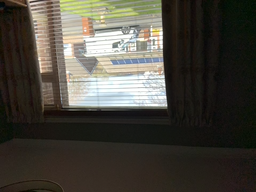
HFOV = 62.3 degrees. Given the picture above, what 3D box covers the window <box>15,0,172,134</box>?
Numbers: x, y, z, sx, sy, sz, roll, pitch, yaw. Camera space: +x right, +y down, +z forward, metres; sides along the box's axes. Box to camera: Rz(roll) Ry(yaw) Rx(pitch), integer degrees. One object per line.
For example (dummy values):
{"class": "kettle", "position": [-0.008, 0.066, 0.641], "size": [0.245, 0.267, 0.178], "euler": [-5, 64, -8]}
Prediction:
{"class": "window", "position": [-0.430, -0.530, 2.410], "size": [1.780, 1.920, 0.070], "euler": [-1, -171, 14]}
